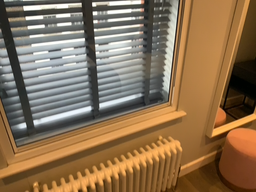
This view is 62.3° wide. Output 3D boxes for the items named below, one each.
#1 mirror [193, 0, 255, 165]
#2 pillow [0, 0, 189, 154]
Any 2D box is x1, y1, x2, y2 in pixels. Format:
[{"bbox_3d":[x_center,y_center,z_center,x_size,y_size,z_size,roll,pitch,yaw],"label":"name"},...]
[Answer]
[{"bbox_3d":[0.930,-0.260,1.670,0.700,1.850,0.040,-15,33,-26],"label":"mirror"},{"bbox_3d":[-0.140,-0.530,1.090,1.130,1.640,0.090,-14,32,-24],"label":"pillow"}]
